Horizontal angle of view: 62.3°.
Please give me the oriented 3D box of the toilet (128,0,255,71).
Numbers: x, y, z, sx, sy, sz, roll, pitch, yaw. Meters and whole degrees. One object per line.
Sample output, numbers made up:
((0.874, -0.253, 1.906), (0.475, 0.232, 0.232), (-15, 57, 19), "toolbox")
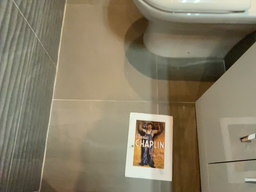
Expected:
((0.260, -0.390, 0.970), (0.500, 0.460, 0.370), (2, 71, 0), "toilet")
